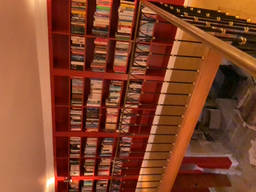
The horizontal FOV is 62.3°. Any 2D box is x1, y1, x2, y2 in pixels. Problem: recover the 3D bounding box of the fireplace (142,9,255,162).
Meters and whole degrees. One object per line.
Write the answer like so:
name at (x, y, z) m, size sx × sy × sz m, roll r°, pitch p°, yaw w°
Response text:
fireplace at (1.850, -0.260, 5.770) m, size 2.170 × 1.970 × 3.410 m, roll -106°, pitch 22°, yaw -59°
